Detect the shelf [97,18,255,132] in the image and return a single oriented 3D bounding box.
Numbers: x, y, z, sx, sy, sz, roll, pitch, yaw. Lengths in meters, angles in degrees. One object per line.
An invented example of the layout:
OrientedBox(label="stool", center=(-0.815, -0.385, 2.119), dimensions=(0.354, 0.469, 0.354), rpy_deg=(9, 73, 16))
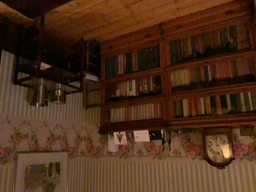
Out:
OrientedBox(label="shelf", center=(0.470, -0.110, 2.370), dimensions=(1.750, 0.940, 0.350), rpy_deg=(-8, 166, 28))
